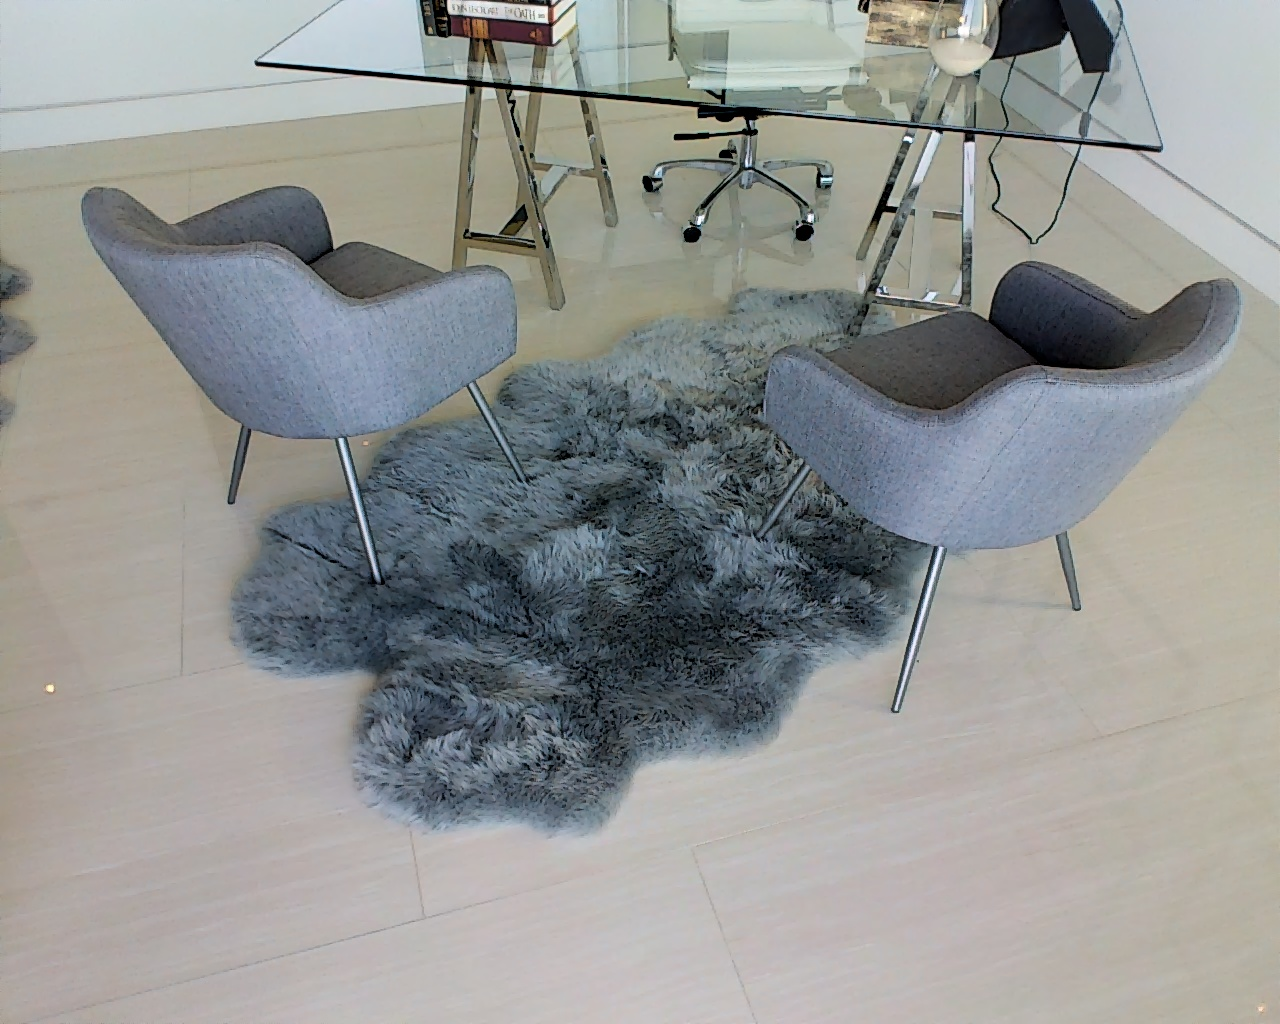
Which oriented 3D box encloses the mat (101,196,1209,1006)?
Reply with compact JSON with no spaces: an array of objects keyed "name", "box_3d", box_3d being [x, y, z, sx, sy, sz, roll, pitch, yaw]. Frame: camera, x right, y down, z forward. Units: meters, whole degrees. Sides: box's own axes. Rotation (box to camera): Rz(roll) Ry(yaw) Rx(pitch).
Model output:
[{"name":"mat","box_3d":[0.090,-0.120,2.380,2.030,0.090,1.360,-30,50,-29]}]
